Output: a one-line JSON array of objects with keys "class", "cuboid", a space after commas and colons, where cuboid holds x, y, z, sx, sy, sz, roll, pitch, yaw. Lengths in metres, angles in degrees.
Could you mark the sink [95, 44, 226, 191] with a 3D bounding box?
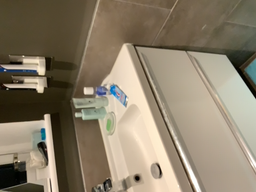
[{"class": "sink", "cuboid": [0.110, 0.320, 0.880, 0.450, 0.190, 1.020, -56, 43, 48]}]
